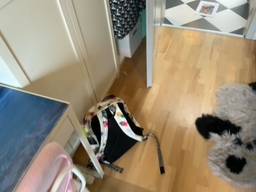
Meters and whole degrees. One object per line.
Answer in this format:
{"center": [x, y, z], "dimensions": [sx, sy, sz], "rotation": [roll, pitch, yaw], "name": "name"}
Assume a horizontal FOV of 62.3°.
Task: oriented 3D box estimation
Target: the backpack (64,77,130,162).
{"center": [-0.170, 0.150, 1.380], "dimensions": [0.190, 0.320, 0.410], "rotation": [19, 55, 18], "name": "backpack"}
